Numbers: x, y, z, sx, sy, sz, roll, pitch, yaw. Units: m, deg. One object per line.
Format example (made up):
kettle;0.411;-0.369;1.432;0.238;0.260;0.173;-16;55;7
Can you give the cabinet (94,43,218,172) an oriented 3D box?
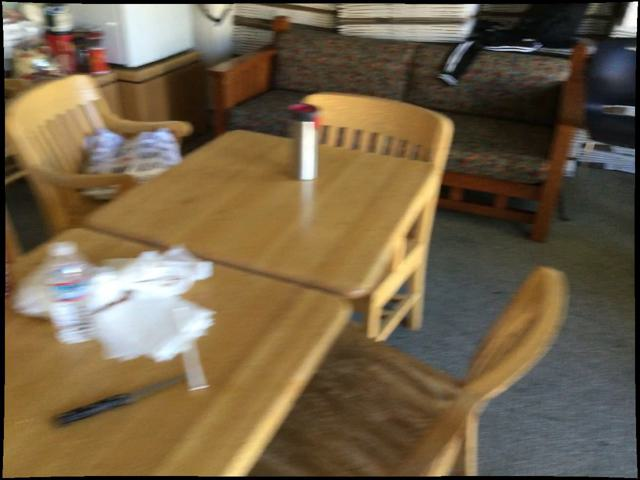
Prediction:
cabinet;-0.989;-0.851;3.630;0.330;0.570;0.700;11;34;18

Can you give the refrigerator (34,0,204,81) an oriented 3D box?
refrigerator;-1.189;-1.481;3.380;0.659;0.851;0.640;14;35;21

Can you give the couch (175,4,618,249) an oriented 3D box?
couch;0.400;-0.721;3.160;2.008;0.801;0.980;11;34;18
